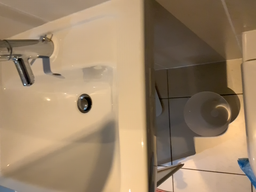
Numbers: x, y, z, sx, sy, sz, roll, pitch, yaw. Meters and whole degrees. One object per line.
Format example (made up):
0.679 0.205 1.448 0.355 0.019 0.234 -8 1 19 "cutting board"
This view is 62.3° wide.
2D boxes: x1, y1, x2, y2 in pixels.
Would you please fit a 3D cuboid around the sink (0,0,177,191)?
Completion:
-0.190 0.050 0.650 0.620 0.200 0.480 -3 88 31 "sink"
